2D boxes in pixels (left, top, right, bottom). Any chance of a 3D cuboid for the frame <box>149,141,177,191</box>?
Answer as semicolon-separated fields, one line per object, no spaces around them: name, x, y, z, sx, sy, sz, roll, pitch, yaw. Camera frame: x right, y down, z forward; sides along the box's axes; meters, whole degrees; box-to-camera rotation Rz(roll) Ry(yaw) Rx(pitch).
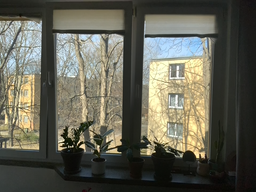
frame;0.300;0.600;1.860;0.210;0.350;0.250;2;1;5

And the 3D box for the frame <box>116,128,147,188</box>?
frame;0.040;0.530;1.880;0.240;0.440;0.270;2;1;5

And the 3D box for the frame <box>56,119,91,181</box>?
frame;-0.480;0.470;1.900;0.240;0.480;0.250;2;1;-1
